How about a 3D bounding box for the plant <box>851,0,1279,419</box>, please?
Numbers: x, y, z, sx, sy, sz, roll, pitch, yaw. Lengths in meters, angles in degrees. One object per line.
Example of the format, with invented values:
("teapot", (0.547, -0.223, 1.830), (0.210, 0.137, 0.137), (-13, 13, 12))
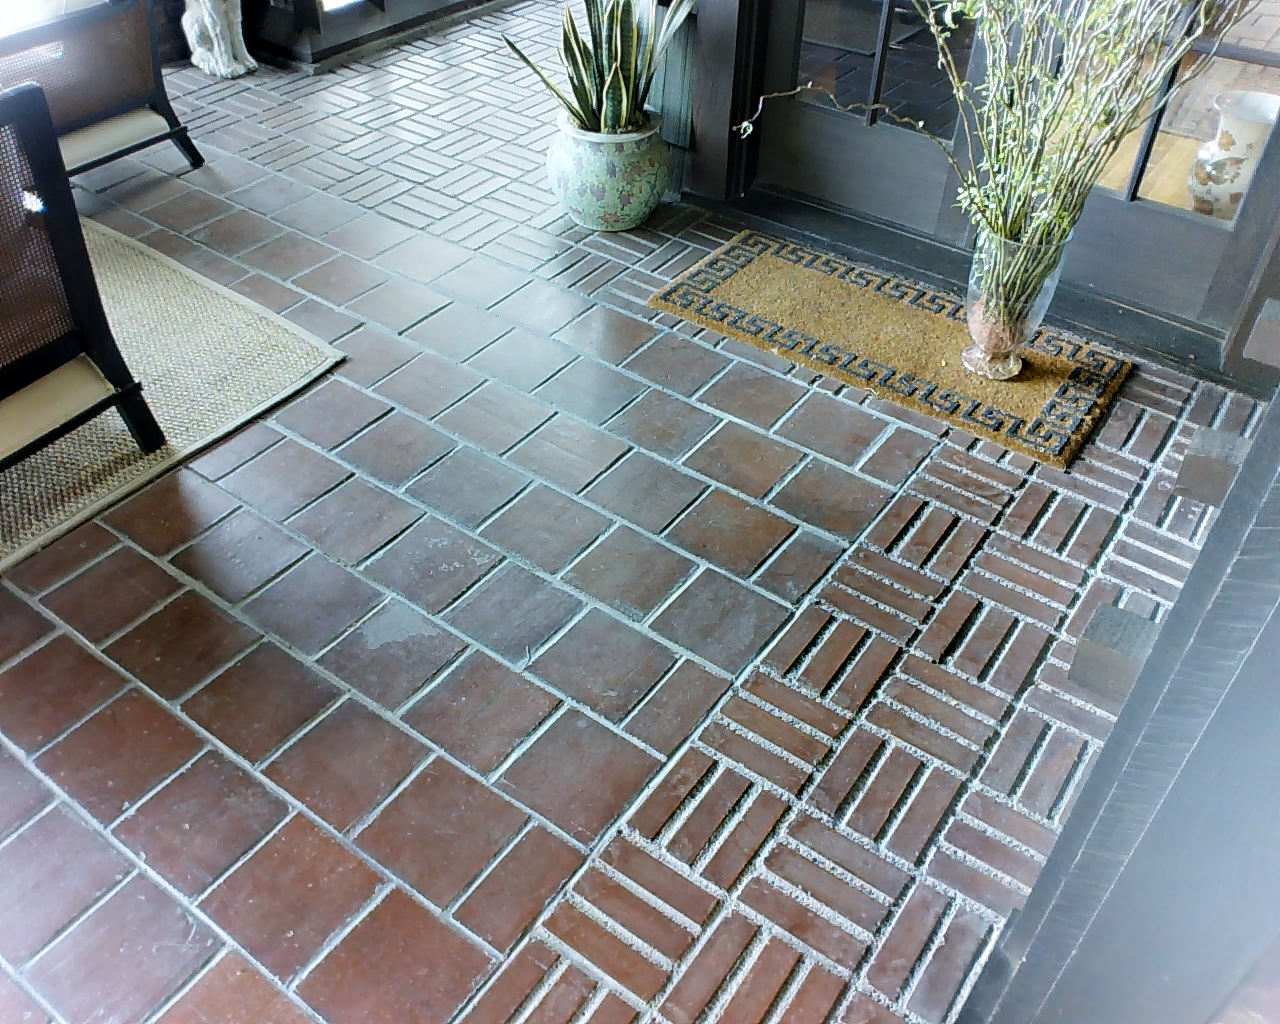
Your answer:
("plant", (1.060, -1.150, 2.430), (0.680, 1.580, 0.930), (-5, 42, -7))
